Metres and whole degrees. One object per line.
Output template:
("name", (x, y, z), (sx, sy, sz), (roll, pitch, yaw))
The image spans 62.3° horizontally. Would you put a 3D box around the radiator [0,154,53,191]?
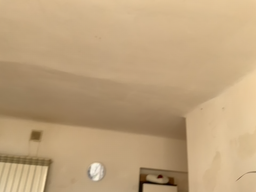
("radiator", (-1.640, 1.040, 2.830), (1.110, 0.470, 0.190), (8, -23, -8))
